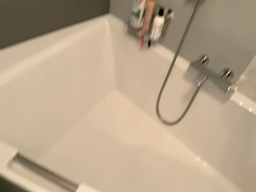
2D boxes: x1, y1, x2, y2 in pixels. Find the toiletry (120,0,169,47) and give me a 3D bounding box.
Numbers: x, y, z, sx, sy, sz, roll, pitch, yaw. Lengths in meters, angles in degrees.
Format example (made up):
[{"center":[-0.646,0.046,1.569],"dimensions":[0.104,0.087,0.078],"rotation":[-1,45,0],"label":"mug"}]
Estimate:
[{"center":[0.090,-0.470,1.280],"dimensions":[0.100,0.230,0.250],"rotation":[-32,61,-34],"label":"toiletry"}]
